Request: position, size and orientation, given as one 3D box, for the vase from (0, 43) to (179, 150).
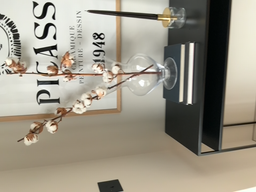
[{"bbox_3d":[-0.160,-0.030,0.990,0.260,0.730,0.390,-151,59,-71],"label":"vase"}]
